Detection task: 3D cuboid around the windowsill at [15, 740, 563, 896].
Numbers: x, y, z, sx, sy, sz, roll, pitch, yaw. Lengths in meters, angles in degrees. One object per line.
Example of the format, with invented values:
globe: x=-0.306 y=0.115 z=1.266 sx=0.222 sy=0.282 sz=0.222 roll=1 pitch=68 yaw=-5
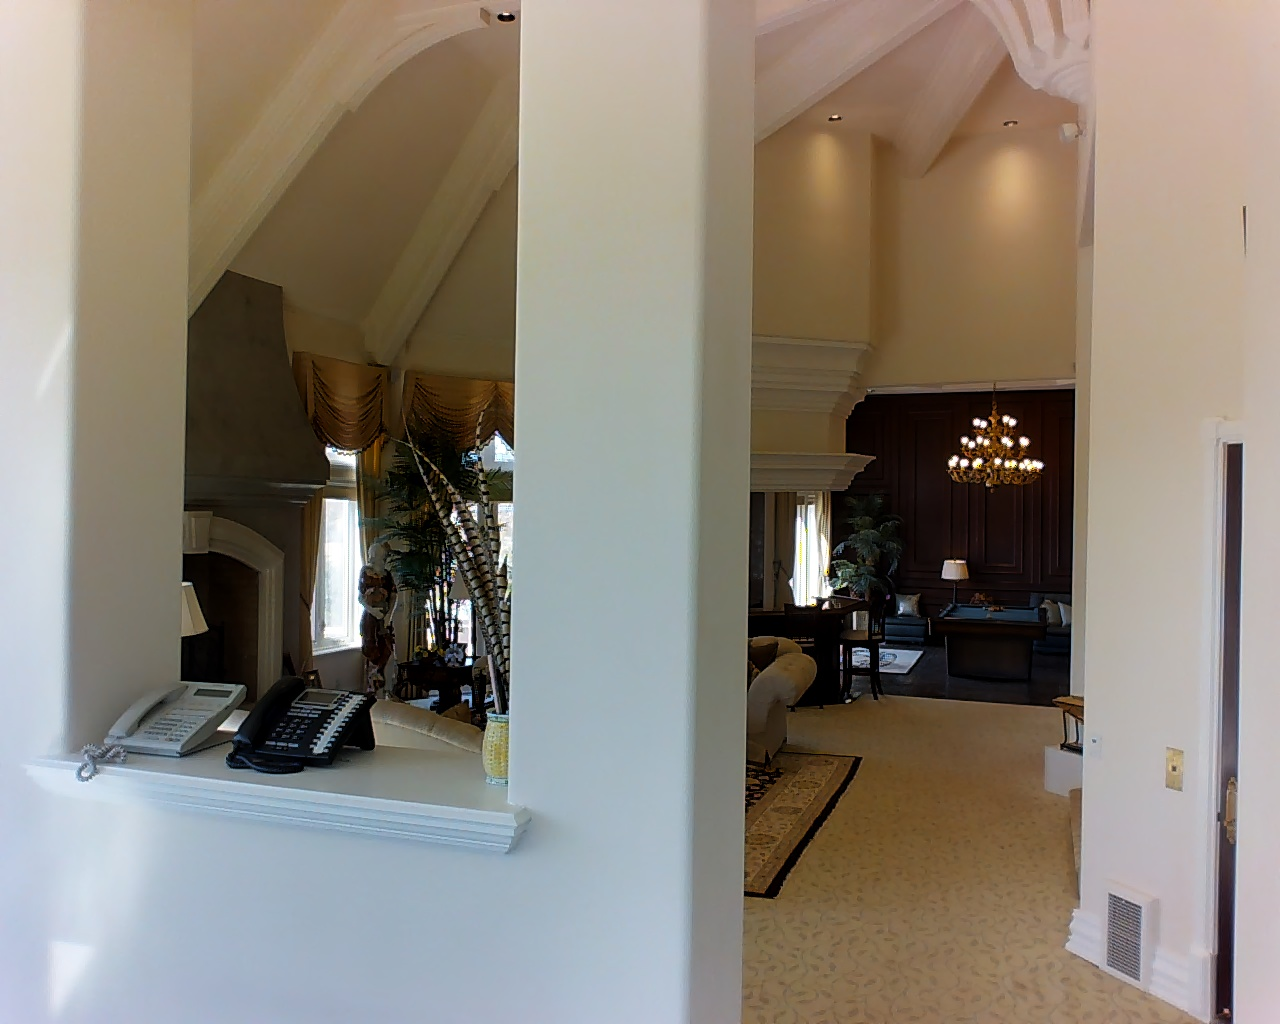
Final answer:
windowsill: x=-0.730 y=0.590 z=2.140 sx=1.170 sy=0.130 sz=0.200 roll=1 pitch=-1 yaw=21
